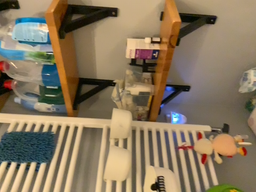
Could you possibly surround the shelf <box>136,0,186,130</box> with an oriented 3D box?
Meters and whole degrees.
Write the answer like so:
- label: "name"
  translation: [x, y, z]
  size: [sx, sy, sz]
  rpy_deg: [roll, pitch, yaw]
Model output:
- label: "shelf"
  translation: [0.110, -0.110, 0.950]
  size: [0.640, 0.080, 0.240]
  rpy_deg: [97, 175, -52]
